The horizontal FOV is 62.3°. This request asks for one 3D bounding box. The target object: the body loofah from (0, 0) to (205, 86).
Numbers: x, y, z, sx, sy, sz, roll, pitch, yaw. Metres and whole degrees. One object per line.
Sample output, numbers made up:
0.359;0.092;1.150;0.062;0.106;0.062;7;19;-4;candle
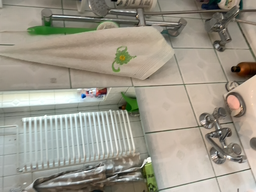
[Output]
-0.100;-0.210;0.860;0.150;0.800;0.270;125;137;-58;body loofah
